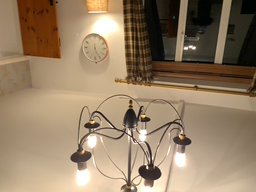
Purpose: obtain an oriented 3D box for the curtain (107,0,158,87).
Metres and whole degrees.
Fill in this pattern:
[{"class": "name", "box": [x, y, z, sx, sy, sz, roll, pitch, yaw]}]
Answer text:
[{"class": "curtain", "box": [0.050, -0.980, 2.720, 0.600, 1.680, 0.190, 7, -160, 14]}]
